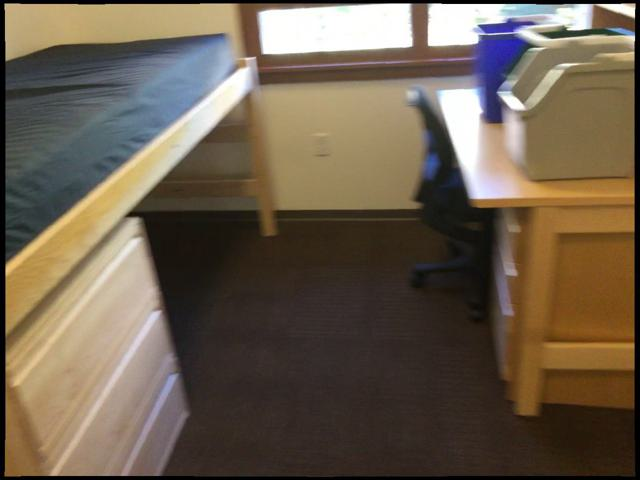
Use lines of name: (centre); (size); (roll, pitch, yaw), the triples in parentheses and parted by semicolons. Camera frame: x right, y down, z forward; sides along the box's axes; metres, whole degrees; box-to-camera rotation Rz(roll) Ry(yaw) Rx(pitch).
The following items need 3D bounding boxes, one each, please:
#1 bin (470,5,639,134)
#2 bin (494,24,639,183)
bin: (0.768, -0.581, 1.970); (0.459, 0.361, 0.260); (0, 28, 9)
bin: (0.738, -0.401, 1.660); (0.389, 0.341, 0.400); (0, 28, 9)
